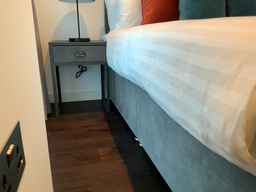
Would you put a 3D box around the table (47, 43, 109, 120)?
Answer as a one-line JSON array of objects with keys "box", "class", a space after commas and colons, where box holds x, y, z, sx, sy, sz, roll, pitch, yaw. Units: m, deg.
[{"box": [-0.430, -0.160, 1.880, 0.440, 0.590, 0.410, -4, 17, -14], "class": "table"}]
